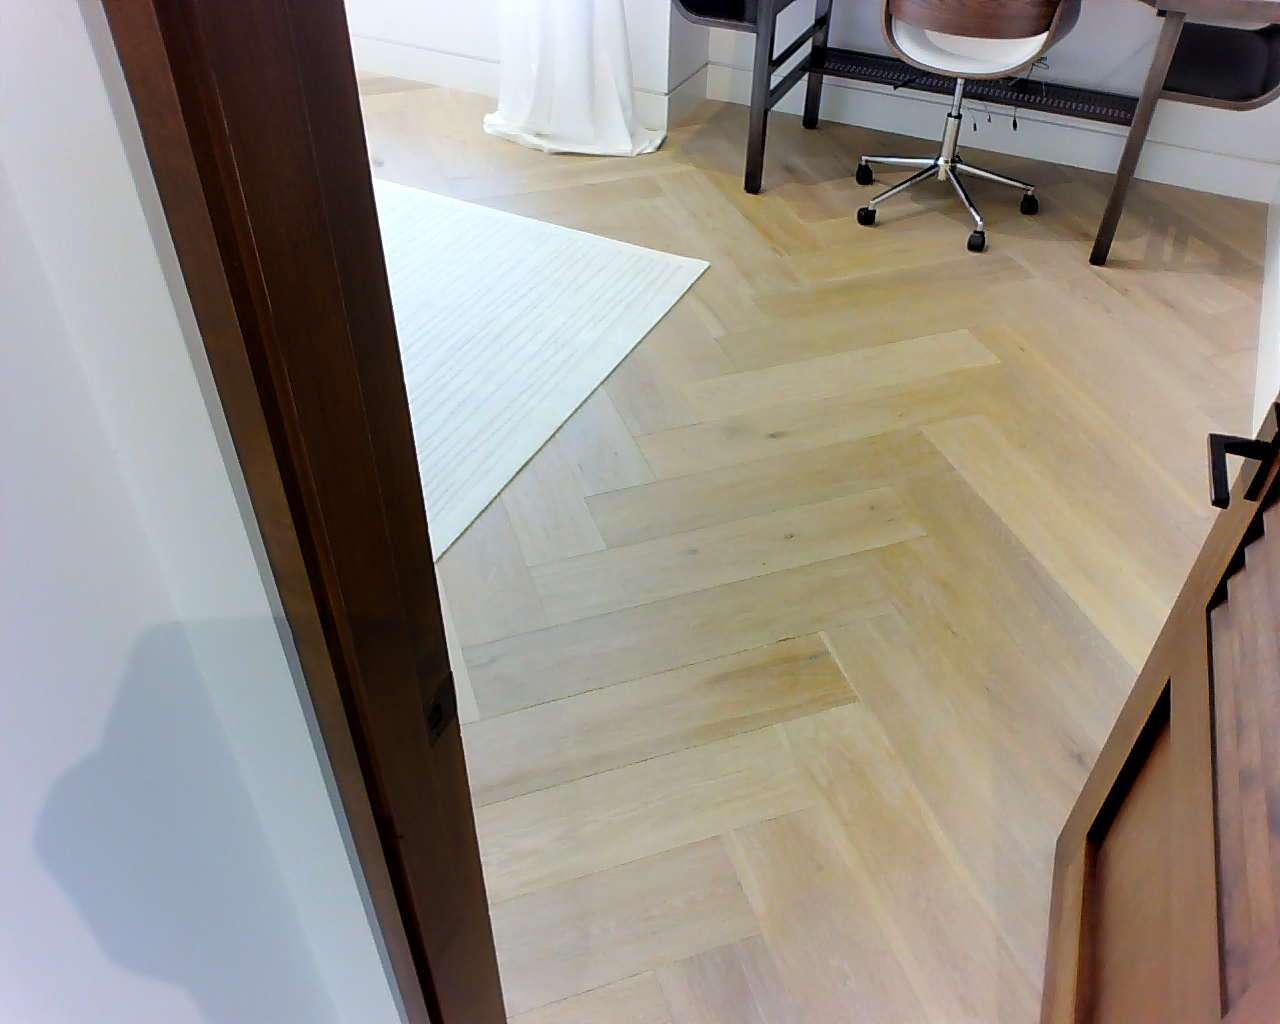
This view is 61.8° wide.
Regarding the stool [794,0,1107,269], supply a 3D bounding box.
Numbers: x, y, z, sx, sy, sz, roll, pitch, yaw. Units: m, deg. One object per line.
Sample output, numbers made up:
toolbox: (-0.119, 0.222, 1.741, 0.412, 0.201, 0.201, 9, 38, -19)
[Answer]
stool: (1.030, -1.450, 3.500, 0.760, 0.920, 0.710, 18, 45, 19)
